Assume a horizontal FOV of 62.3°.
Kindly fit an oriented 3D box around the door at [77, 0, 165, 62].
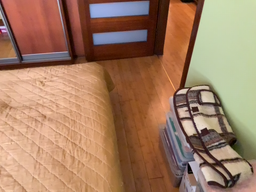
[{"bbox_3d":[-0.060,-1.240,1.920,0.880,2.040,0.090,-7,42,-8],"label":"door"}]
